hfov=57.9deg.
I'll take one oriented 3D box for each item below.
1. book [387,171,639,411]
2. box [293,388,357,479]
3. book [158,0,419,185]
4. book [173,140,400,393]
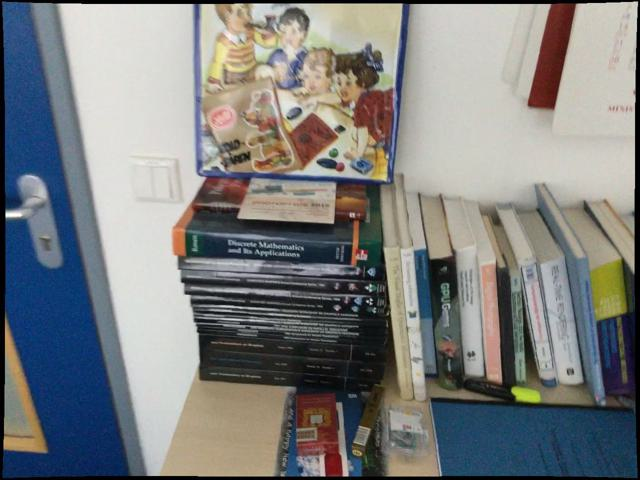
[{"bbox_3d":[0.440,0.080,0.900,0.639,0.270,0.230,3,33,3],"label":"book"},{"bbox_3d":[0.010,0.270,0.800,0.080,0.030,0.140,3,33,3],"label":"box"},{"bbox_3d":[-0.040,-0.280,0.800,0.330,0.390,0.100,3,33,3],"label":"book"},{"bbox_3d":[-0.040,0.040,0.910,0.290,0.320,0.210,3,33,3],"label":"book"}]
